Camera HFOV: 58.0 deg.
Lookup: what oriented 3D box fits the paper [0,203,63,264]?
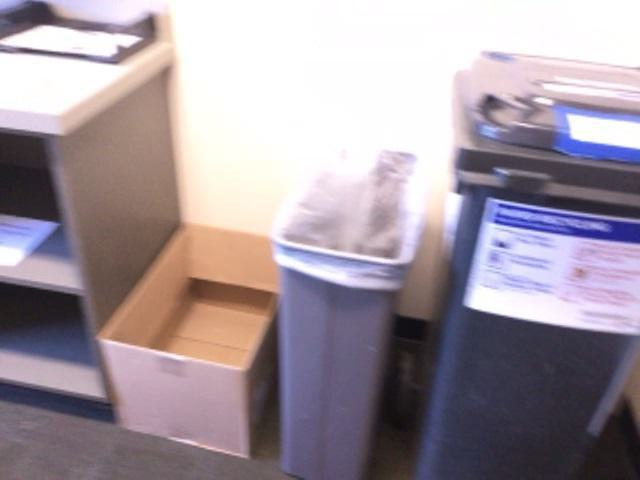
[{"bbox_3d":[-0.880,-0.030,1.520,0.300,0.030,0.230,8,30,5],"label":"paper"}]

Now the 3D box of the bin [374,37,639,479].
[{"bbox_3d":[0.430,0.180,1.260,0.490,1.060,0.510,8,30,5],"label":"bin"}]

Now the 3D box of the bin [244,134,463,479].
[{"bbox_3d":[0.070,0.210,1.470,0.390,0.770,0.540,8,30,5],"label":"bin"}]
